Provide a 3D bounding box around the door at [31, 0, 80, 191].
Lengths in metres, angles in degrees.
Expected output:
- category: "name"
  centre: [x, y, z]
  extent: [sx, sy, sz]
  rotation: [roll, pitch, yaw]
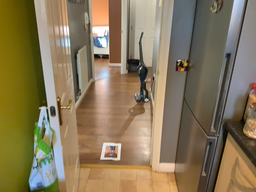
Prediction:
- category: "door"
  centre: [-0.430, -0.070, 1.400]
  extent: [0.050, 1.980, 0.810]
  rotation: [-2, 22, -8]
